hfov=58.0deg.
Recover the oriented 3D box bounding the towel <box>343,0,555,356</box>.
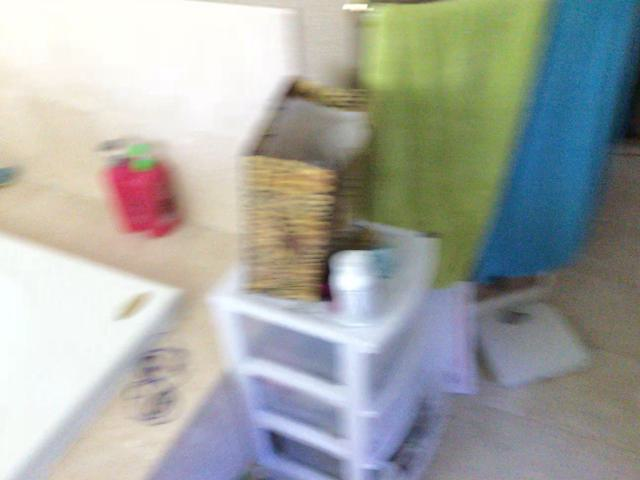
[{"bbox_3d":[0.290,-0.120,1.310,0.360,0.880,0.120,-17,40,-9],"label":"towel"}]

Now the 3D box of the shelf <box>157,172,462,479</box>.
[{"bbox_3d":[0.040,0.280,1.290,0.430,0.690,0.420,12,44,25],"label":"shelf"}]

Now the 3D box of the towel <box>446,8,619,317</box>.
[{"bbox_3d":[0.460,-0.140,1.360,0.290,0.700,0.140,-13,39,-4],"label":"towel"}]

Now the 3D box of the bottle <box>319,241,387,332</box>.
[{"bbox_3d":[0.060,0.080,1.000,0.080,0.120,0.080,12,44,25],"label":"bottle"}]
